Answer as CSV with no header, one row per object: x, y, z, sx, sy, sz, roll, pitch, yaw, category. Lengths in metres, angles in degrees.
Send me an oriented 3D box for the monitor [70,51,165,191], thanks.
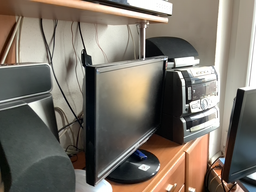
0.020,0.060,0.690,0.030,0.350,0.470,7,20,30,monitor
